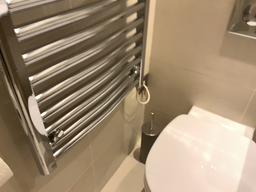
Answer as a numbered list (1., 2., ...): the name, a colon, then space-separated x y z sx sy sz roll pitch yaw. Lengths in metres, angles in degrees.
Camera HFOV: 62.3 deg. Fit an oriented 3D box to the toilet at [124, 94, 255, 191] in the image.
1. toilet: 0.270 0.370 0.930 0.350 0.460 0.540 22 43 23
